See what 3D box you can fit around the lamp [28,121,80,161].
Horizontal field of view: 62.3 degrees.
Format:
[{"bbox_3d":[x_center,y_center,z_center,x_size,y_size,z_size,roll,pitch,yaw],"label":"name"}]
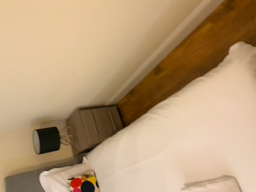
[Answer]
[{"bbox_3d":[-0.780,0.470,2.230,0.290,0.410,0.270,-41,62,48],"label":"lamp"}]
